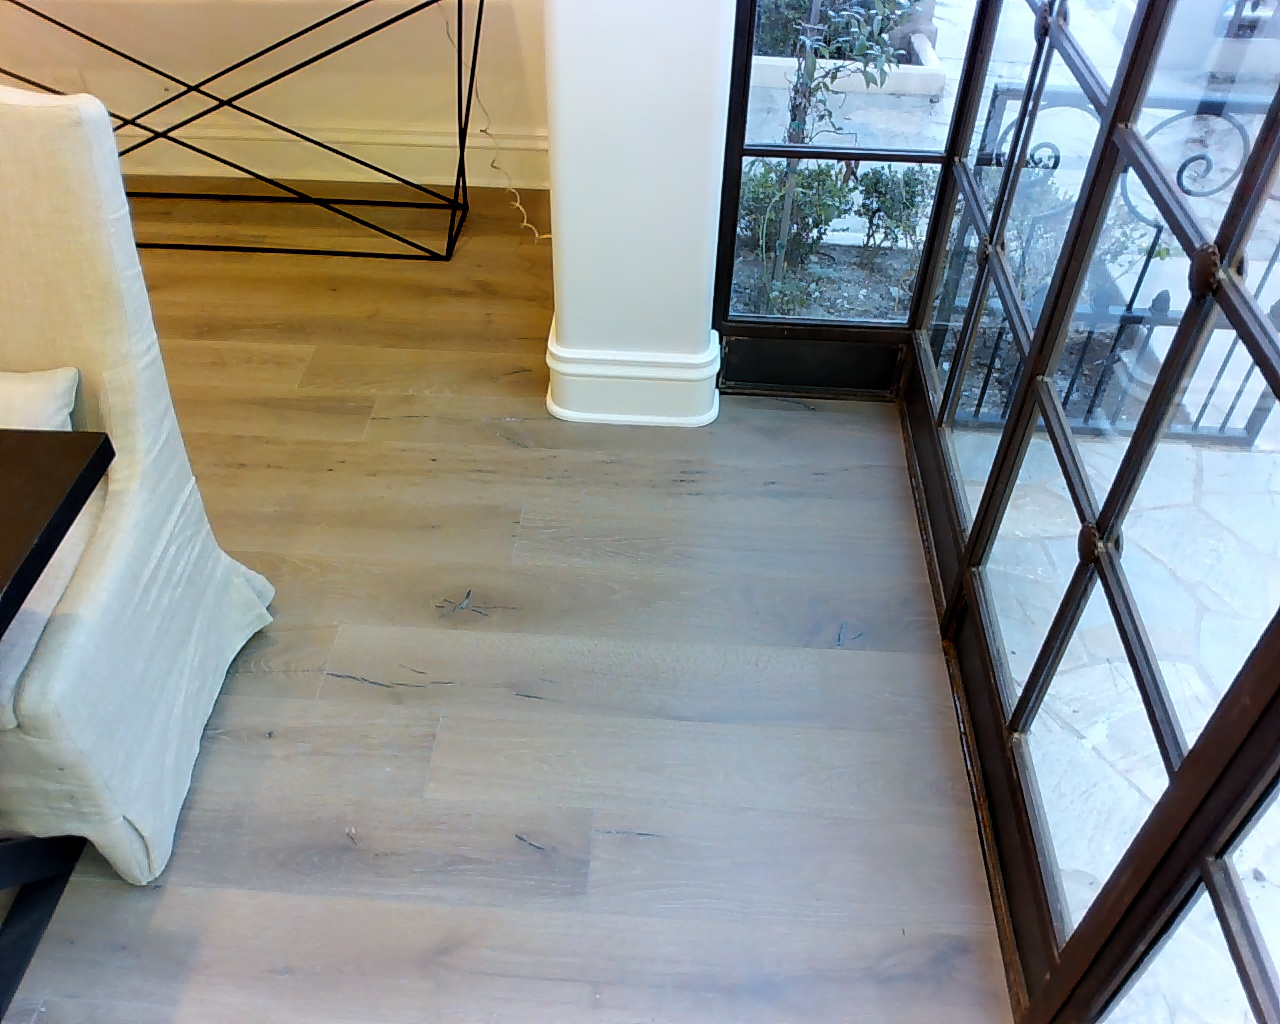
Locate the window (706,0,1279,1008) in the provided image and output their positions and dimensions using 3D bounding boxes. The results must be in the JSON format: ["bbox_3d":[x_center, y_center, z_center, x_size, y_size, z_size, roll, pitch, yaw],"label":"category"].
[{"bbox_3d":[0.430,-0.750,1.240,0.560,2.300,1.620,3,43,2],"label":"window"}]
